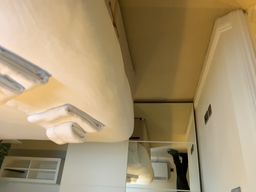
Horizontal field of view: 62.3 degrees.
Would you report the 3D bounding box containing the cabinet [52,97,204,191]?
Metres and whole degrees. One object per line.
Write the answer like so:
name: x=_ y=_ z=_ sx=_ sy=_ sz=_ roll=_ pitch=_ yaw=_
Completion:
cabinet: x=0.000 y=1.010 z=2.420 sx=1.580 sy=2.020 sz=0.430 roll=-1 pitch=152 yaw=9
